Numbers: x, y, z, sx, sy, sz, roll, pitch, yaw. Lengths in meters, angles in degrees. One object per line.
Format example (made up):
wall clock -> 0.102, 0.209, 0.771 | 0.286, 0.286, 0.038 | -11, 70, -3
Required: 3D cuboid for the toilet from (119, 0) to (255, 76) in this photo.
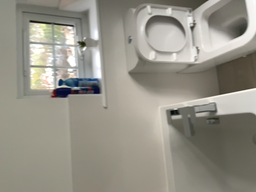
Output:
toilet -> 0.460, -0.410, 1.310 | 0.630, 0.820, 0.420 | -18, 75, 63
